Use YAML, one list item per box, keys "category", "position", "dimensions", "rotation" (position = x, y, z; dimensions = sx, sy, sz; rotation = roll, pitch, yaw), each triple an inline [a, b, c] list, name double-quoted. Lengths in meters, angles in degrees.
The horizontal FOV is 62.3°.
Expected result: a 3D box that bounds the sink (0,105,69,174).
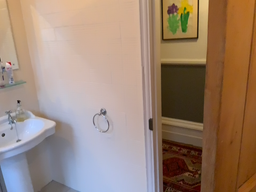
- category: "sink"
  position: [-0.850, 0.290, 1.570]
  dimensions: [0.430, 0.200, 0.660]
  rotation: [7, 20, 30]
